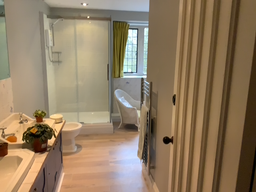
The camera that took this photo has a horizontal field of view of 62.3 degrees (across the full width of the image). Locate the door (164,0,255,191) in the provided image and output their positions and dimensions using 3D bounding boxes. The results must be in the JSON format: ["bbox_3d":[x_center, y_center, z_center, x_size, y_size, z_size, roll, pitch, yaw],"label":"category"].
[{"bbox_3d":[0.300,0.340,1.000,0.040,2.040,0.790,1,12,-3],"label":"door"}]

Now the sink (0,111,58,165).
[{"bbox_3d":[-1.030,0.380,2.140,0.480,0.260,0.730,0,12,-7],"label":"sink"}]

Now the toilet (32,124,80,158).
[{"bbox_3d":[-1.080,0.680,3.270,0.630,0.370,0.390,0,12,-7],"label":"toilet"}]
